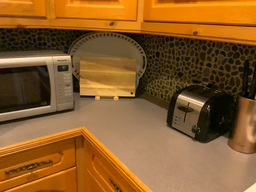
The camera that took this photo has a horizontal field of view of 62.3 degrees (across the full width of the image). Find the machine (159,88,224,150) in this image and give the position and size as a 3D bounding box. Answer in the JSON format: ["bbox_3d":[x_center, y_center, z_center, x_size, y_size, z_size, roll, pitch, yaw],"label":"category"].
[{"bbox_3d":[0.280,0.090,0.970,0.170,0.190,0.200,-11,23,-34],"label":"machine"}]
